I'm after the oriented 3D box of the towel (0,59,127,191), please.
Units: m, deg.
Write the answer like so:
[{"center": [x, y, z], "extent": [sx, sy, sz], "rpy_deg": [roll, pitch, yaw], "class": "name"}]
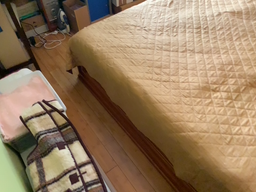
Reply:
[{"center": [-0.400, 0.310, 1.230], "extent": [0.320, 0.570, 0.910], "rpy_deg": [-31, 57, -21], "class": "towel"}]
